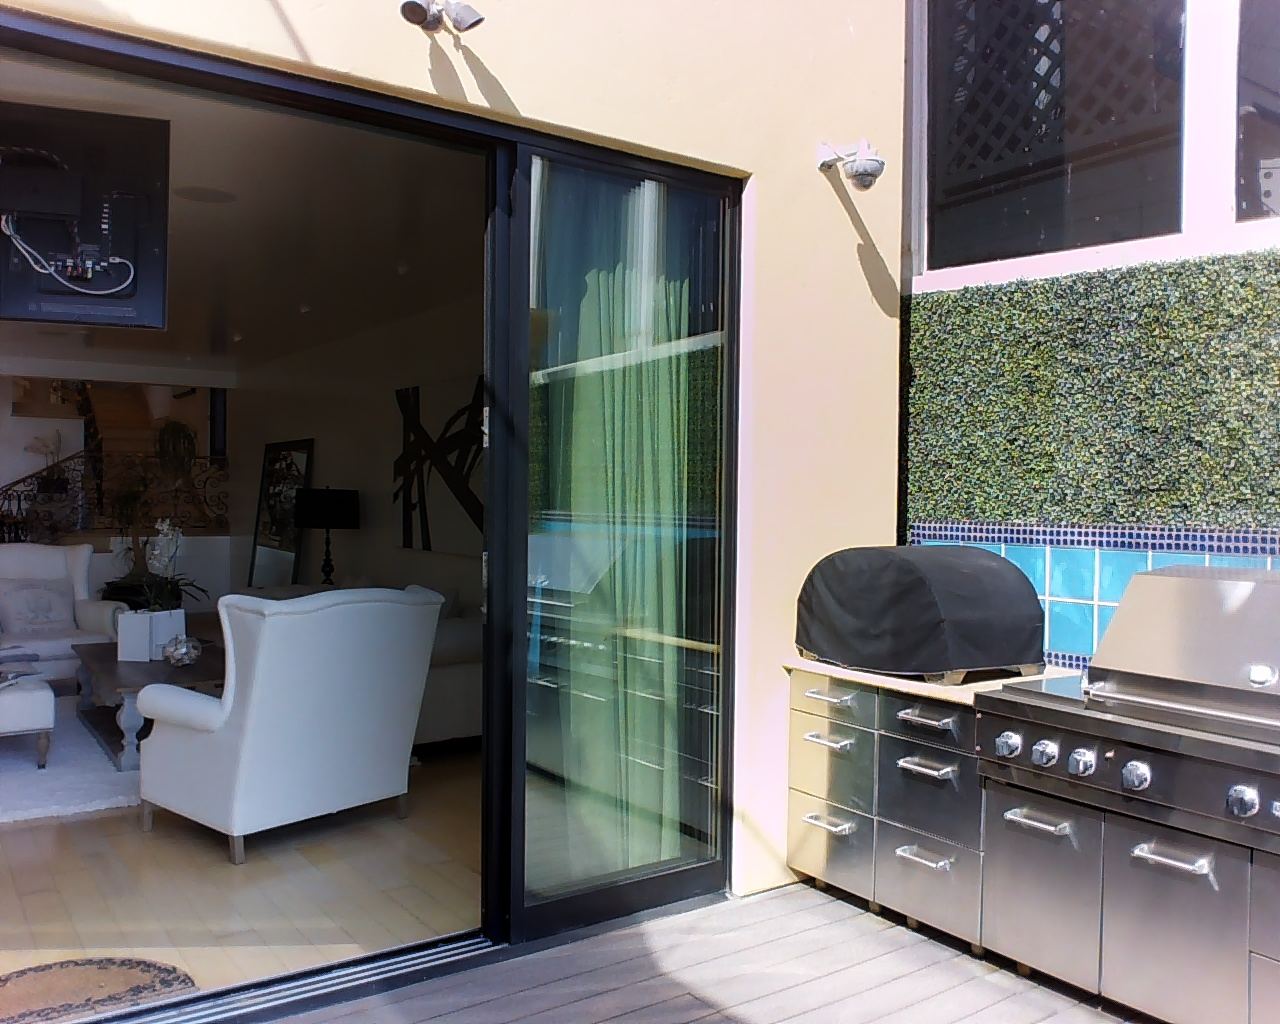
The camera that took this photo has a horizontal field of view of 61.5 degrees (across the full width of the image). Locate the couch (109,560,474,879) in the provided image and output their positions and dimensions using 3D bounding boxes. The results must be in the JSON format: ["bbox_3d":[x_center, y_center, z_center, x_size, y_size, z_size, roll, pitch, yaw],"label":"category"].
[{"bbox_3d":[-1.549,0.820,4.850,1.060,1.110,1.170,1,1,38],"label":"couch"}]
